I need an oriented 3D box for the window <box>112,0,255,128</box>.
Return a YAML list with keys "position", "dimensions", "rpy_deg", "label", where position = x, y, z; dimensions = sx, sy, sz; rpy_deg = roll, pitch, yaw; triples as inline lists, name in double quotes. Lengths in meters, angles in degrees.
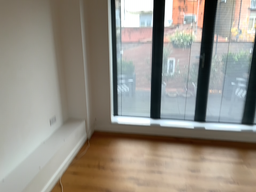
- position: [1.150, -0.590, 3.060]
  dimensions: [2.780, 2.090, 0.140]
  rpy_deg: [3, 17, 11]
  label: "window"
